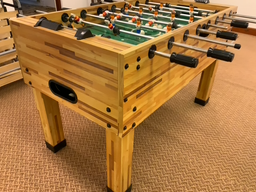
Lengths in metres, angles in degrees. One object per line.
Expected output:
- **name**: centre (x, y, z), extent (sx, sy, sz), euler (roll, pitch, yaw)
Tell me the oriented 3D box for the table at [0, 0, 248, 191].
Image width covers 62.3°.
- **table**: centre (0.090, -0.190, 1.600), extent (0.900, 0.930, 1.460), euler (24, 38, 31)
